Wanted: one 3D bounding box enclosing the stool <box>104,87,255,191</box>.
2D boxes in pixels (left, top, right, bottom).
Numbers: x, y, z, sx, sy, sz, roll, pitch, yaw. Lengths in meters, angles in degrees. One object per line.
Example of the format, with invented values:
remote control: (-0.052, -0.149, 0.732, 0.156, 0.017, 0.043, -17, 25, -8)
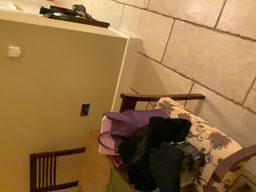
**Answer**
stool: (0.370, 0.300, 1.310, 0.670, 0.730, 0.450, 40, 123, 44)
